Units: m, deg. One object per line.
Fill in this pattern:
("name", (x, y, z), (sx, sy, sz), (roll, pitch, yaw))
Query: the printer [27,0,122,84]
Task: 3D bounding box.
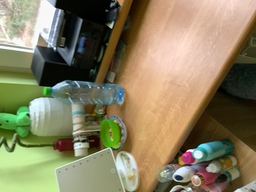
("printer", (-0.250, -0.290, 0.920), (0.250, 0.240, 0.390), (45, 122, 40))
